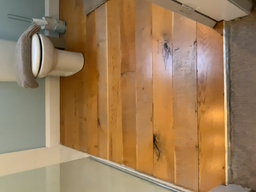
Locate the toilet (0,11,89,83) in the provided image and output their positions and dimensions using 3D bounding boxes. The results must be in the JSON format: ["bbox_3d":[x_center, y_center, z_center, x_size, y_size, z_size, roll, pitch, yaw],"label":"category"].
[{"bbox_3d":[-0.840,-0.340,1.760,0.640,0.790,0.370,-4,87,46],"label":"toilet"}]
